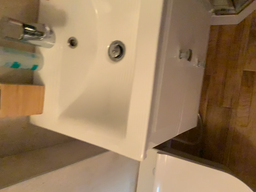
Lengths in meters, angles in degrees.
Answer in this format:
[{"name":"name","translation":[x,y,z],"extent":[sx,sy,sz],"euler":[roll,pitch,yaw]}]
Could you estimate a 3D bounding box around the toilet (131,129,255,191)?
[{"name":"toilet","translation":[0.360,0.430,1.030],"extent":[0.530,0.430,0.360],"euler":[12,96,30]}]
